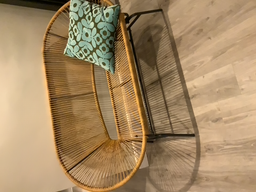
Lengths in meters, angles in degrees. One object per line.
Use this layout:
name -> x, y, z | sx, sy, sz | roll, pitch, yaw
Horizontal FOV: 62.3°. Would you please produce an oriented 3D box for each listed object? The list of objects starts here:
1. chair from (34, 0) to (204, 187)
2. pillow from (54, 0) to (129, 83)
chair -> -0.140, -0.190, 1.710 | 0.730, 0.880, 1.450 | -25, 73, 54
pillow -> -0.240, -0.460, 1.670 | 0.220, 0.500, 0.520 | 2, 62, 25
